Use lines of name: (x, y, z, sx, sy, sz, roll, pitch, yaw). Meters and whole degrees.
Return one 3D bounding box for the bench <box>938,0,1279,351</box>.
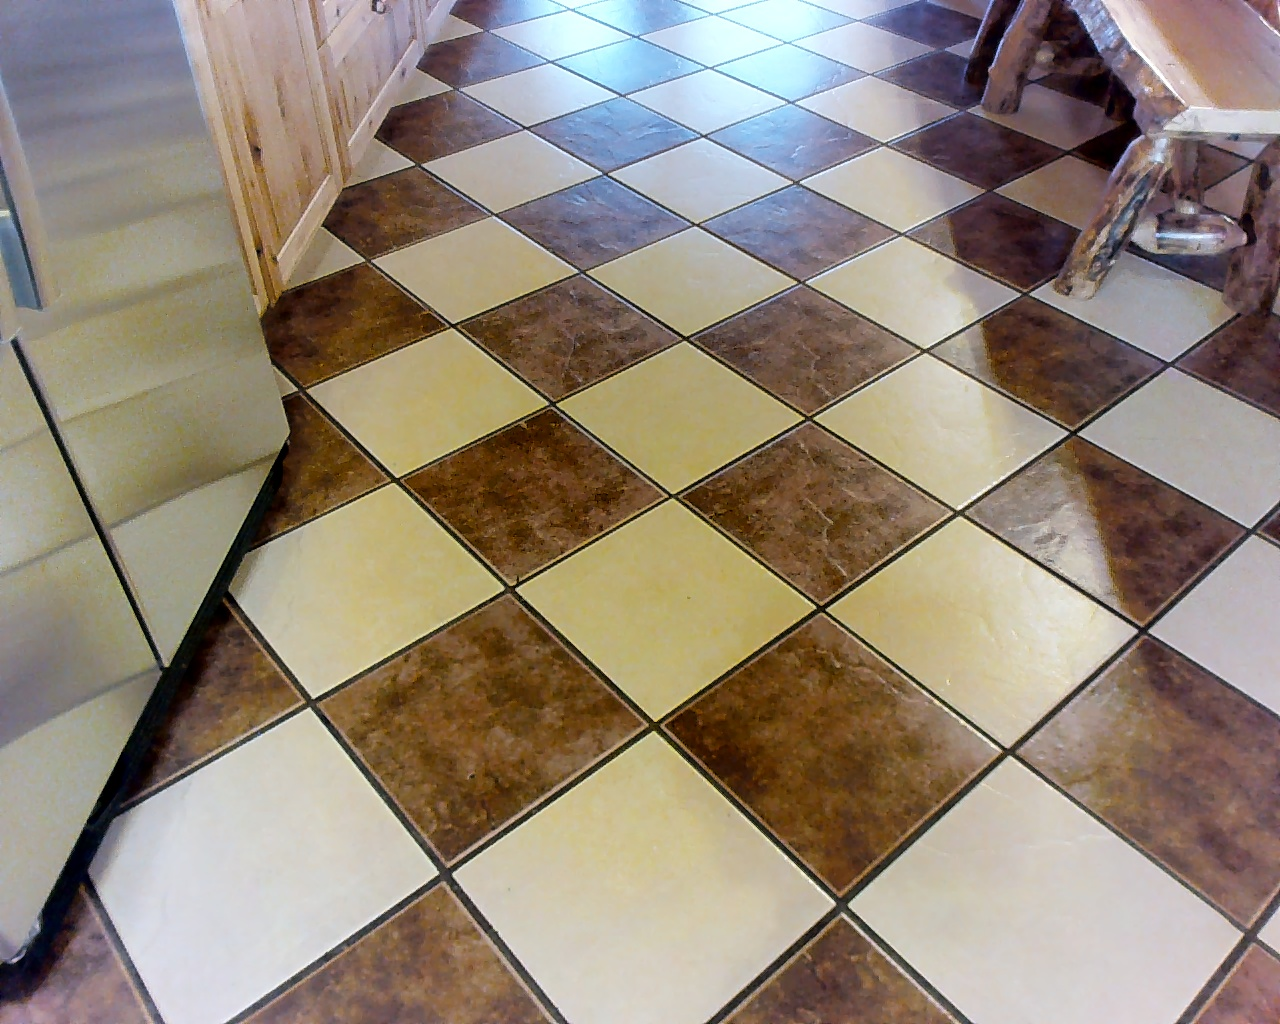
bench: (1.250, -1.370, 2.910, 0.610, 0.510, 2.490, 5, 43, 4)
